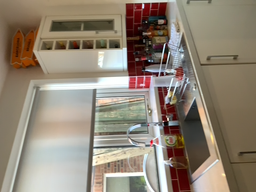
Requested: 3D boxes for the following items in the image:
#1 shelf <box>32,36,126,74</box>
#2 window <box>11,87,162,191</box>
[{"bbox_3d":[-0.420,-0.380,1.980,0.300,0.800,0.180,91,177,-56],"label":"shelf"},{"bbox_3d":[-0.330,0.530,1.840,0.070,1.180,1.400,91,177,-57],"label":"window"}]
